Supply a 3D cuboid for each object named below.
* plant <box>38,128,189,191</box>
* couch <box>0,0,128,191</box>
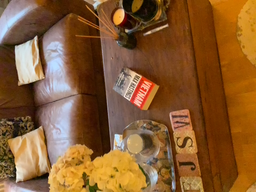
[{"bbox_3d":[-0.020,0.330,0.770,0.330,0.440,0.370,-9,83,34],"label":"plant"},{"bbox_3d":[-0.730,0.060,1.680,1.040,0.780,1.600,-10,82,34],"label":"couch"}]
